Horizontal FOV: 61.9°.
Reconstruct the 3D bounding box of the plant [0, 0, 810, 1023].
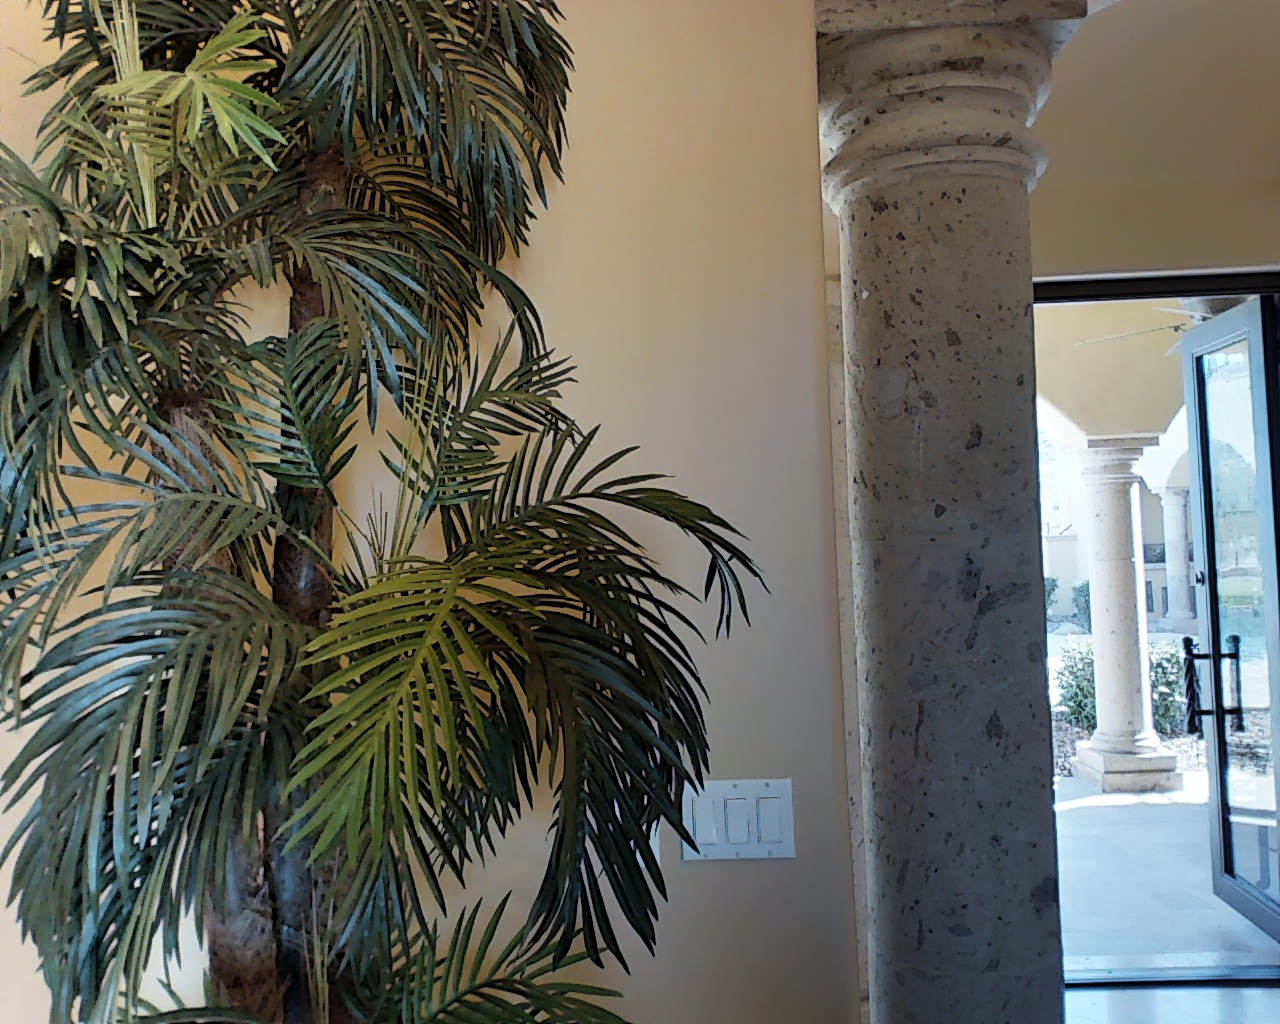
[{"bbox_3d":[-0.330,0.240,1.130,0.890,2.660,0.910,-2,-2,2],"label":"plant"}]
